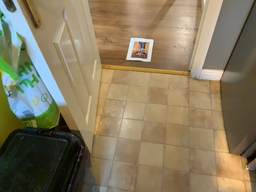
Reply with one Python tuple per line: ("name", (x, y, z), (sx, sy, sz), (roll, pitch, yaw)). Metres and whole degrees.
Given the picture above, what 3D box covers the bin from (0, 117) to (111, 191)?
("bin", (-0.300, 0.420, 0.890), (0.330, 0.620, 0.360), (5, 53, 7))
